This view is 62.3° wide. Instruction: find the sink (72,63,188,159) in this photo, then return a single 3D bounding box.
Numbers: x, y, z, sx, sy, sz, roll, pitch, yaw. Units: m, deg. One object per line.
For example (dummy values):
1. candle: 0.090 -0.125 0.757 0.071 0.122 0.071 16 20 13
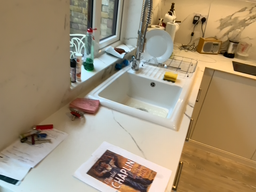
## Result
1. sink: 0.040 0.040 1.360 0.560 0.220 0.550 18 31 16
